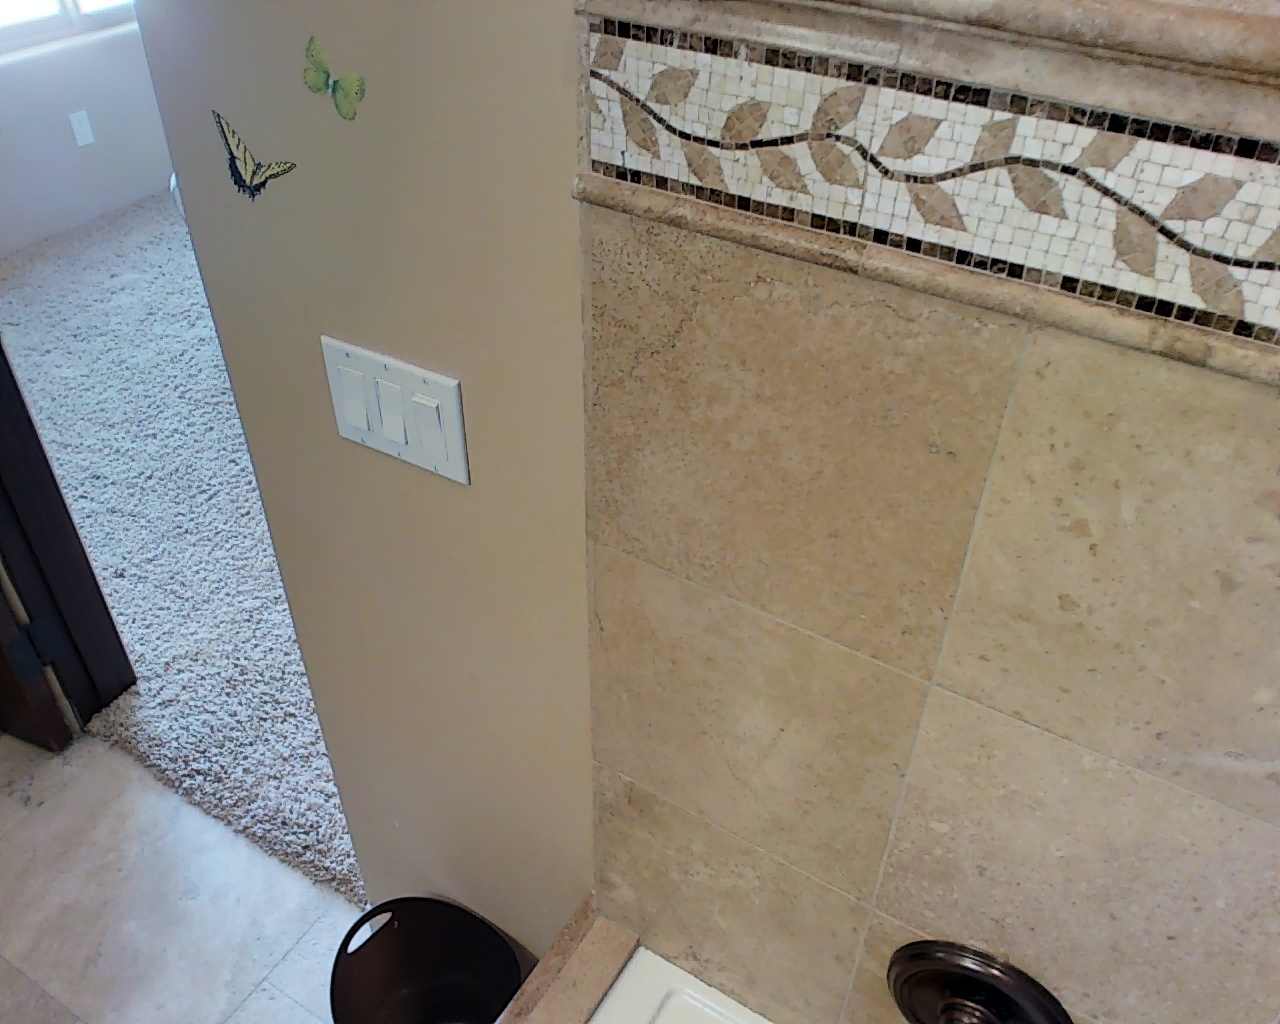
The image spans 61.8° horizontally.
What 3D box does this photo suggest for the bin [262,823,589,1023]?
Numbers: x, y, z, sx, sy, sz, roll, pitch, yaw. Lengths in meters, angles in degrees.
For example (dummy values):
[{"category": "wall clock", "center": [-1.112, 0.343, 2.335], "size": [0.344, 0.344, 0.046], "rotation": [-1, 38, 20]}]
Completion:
[{"category": "bin", "center": [-0.290, 0.710, 1.530], "size": [0.360, 0.320, 0.240], "rotation": [23, 44, 23]}]
